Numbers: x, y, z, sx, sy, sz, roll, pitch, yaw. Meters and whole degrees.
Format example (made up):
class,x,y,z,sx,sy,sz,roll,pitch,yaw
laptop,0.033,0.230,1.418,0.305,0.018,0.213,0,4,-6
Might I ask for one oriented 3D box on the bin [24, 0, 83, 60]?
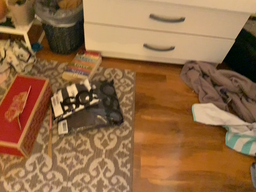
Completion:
class,x,y,z,sx,sy,sz,roll,pitch,yaw
bin,-0.370,-0.390,1.130,0.210,0.230,0.290,6,53,-5

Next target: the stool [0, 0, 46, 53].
class,x,y,z,sx,sy,sz,roll,pitch,yaw
stool,-0.640,-0.380,1.120,0.320,0.150,0.230,6,52,-4
